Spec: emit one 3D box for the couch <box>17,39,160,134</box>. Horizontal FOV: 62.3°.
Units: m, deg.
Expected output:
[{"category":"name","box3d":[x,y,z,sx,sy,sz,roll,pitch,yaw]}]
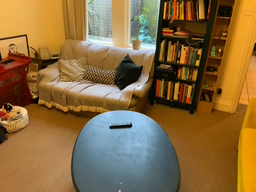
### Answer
[{"category":"couch","box3d":[-0.520,-0.260,3.130,1.670,0.780,1.020,12,28,21]}]
